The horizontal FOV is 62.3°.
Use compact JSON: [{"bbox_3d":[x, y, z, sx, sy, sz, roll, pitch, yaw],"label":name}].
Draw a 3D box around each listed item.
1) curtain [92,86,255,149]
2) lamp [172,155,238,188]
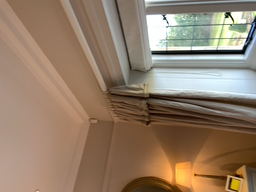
[{"bbox_3d":[0.850,0.240,2.190,0.580,2.320,0.370,71,-156,-59],"label":"curtain"},{"bbox_3d":[0.890,0.900,2.540,0.260,0.700,0.260,72,-156,-59],"label":"lamp"}]
